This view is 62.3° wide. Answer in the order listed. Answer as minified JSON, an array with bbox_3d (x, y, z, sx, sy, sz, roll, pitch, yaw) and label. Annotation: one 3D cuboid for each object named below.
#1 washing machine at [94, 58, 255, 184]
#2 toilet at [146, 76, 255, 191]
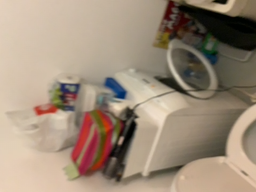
[{"bbox_3d":[0.320,0.130,1.570,0.620,0.860,0.540,43,122,48],"label":"washing machine"},{"bbox_3d":[0.630,0.290,1.140,0.390,0.840,0.620,45,124,47],"label":"toilet"}]
